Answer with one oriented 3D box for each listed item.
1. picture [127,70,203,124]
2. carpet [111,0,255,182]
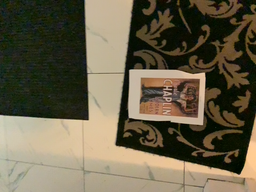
[{"bbox_3d":[0.140,0.000,0.840,0.290,0.030,0.200,2,95,17],"label":"picture"},{"bbox_3d":[0.230,-0.100,0.820,0.510,0.050,0.750,10,97,16],"label":"carpet"}]
